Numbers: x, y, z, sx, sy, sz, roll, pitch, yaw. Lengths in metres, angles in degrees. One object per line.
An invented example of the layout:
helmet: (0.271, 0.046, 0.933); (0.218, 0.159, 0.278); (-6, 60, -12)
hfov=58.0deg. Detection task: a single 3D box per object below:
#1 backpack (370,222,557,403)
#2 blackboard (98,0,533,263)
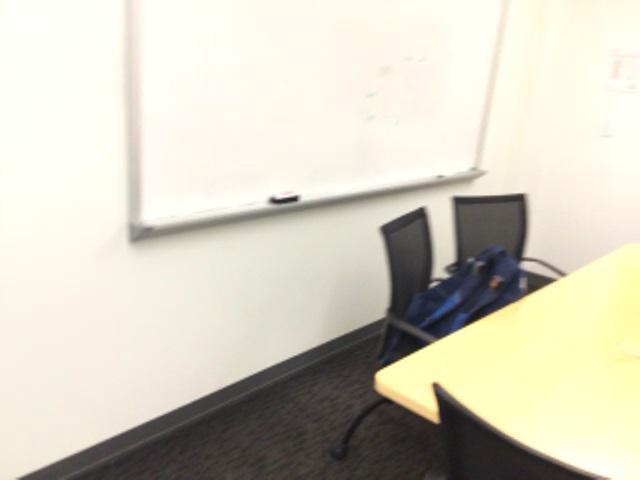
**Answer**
backpack: (0.500, 0.220, 2.040); (0.420, 0.410, 0.460); (19, 24, 41)
blackboard: (0.270, -0.780, 2.560); (0.100, 1.270, 2.530); (19, 24, 41)
